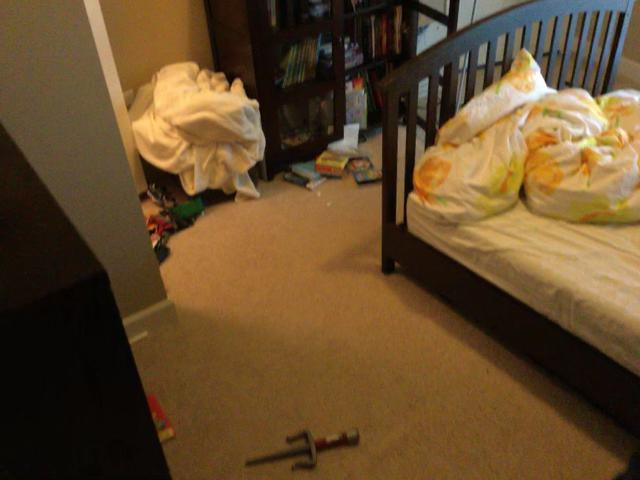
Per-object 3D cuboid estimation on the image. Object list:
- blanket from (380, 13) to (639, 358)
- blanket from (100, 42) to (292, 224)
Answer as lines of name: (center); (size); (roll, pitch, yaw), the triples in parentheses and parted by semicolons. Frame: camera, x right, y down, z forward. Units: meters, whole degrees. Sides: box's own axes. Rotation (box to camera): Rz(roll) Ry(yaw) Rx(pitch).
blanket: (0.990, -0.260, 1.790); (1.090, 0.400, 1.170); (-27, 41, -25)
blanket: (-0.550, -0.510, 2.620); (0.570, 0.500, 0.570); (-27, 41, -25)
